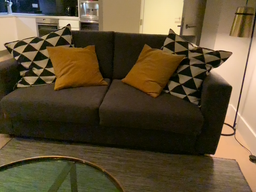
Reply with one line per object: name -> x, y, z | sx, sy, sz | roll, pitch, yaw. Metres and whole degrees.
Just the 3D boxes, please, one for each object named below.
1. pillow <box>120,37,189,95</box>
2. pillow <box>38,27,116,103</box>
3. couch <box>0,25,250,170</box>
pillow -> 0.220, -0.240, 1.910 | 0.480, 0.410, 0.140 | -13, 29, 53
pillow -> -0.460, -0.280, 1.980 | 0.490, 0.490, 0.150 | -58, 12, -13
couch -> -0.180, -0.120, 2.110 | 1.990, 0.930, 1.090 | 5, 23, 4
